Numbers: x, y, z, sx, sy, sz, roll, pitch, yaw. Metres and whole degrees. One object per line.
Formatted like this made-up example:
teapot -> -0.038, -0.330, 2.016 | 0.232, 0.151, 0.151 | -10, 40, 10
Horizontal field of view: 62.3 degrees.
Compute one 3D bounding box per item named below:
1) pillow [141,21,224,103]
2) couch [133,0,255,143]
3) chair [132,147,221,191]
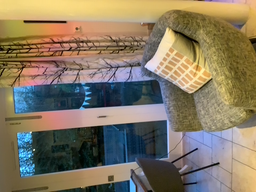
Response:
pillow -> 0.370, -0.220, 1.600 | 0.170, 0.510, 0.500 | 47, 170, 5
couch -> 0.590, -0.150, 1.610 | 0.820, 0.830, 0.810 | 123, 142, -67
chair -> 0.500, 0.930, 2.330 | 0.540, 0.780, 0.500 | -158, 66, -74
